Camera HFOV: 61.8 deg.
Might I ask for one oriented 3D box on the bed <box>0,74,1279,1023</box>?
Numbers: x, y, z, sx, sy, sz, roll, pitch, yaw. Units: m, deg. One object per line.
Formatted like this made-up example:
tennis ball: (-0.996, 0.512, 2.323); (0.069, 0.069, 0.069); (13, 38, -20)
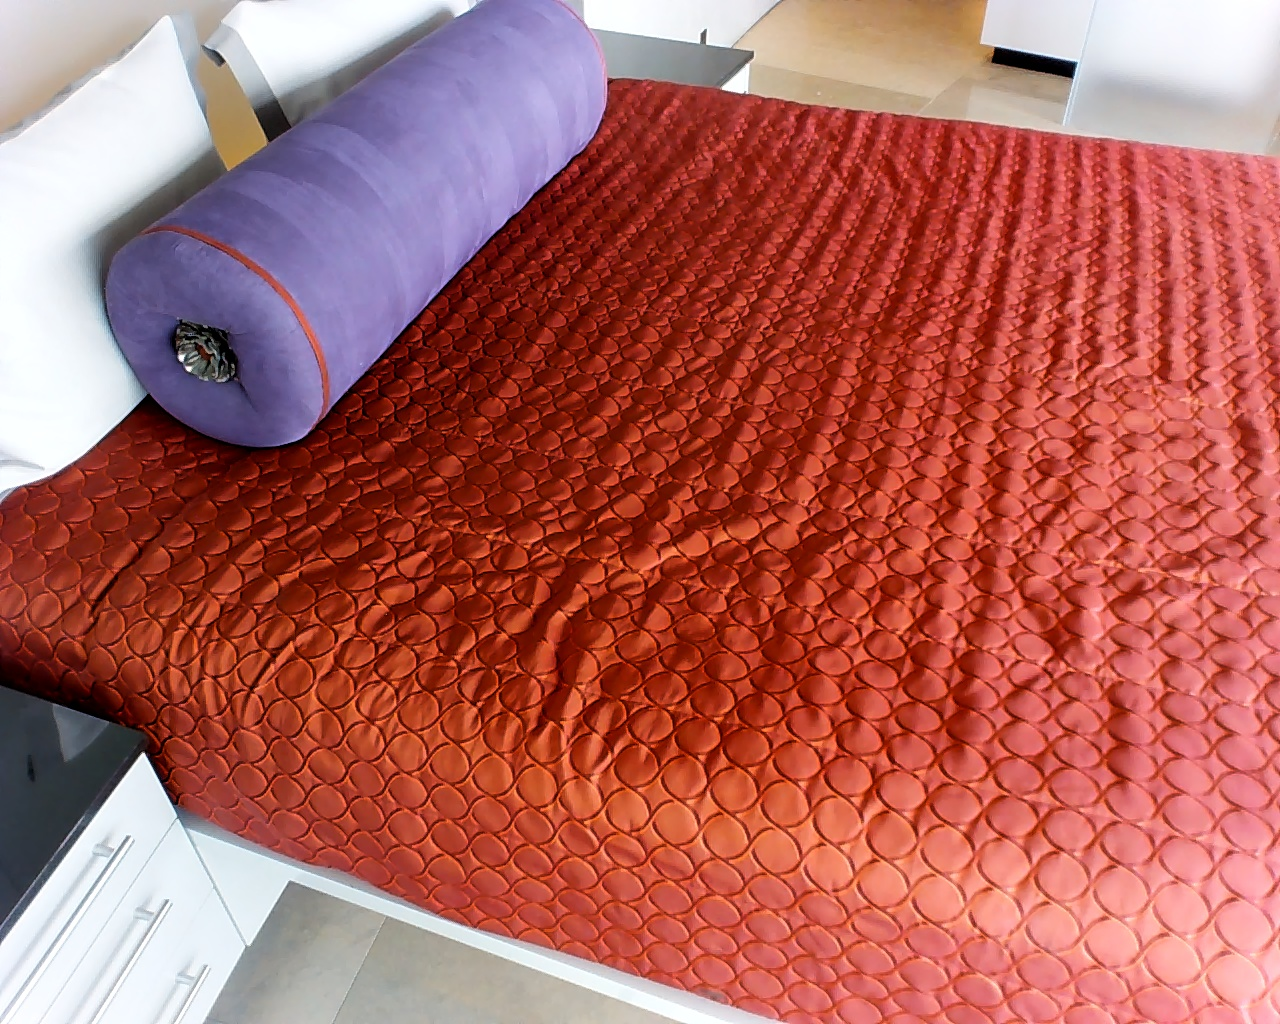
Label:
bed: (0.260, -0.050, 1.960); (2.090, 0.770, 2.010); (12, 39, 17)
